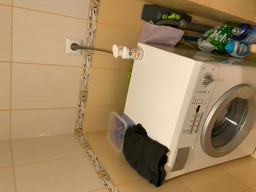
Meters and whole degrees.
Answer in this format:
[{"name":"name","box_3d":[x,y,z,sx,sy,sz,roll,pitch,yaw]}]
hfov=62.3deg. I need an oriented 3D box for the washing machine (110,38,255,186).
[{"name":"washing machine","box_3d":[0.430,0.040,1.360,0.560,0.840,0.610,38,122,51]}]
